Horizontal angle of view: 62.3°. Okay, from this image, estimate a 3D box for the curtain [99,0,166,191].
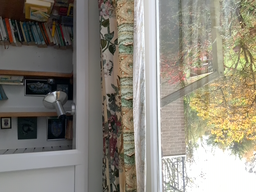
[{"bbox_3d":[-0.020,-0.350,1.080,0.170,2.230,0.490,0,177,-17],"label":"curtain"}]
